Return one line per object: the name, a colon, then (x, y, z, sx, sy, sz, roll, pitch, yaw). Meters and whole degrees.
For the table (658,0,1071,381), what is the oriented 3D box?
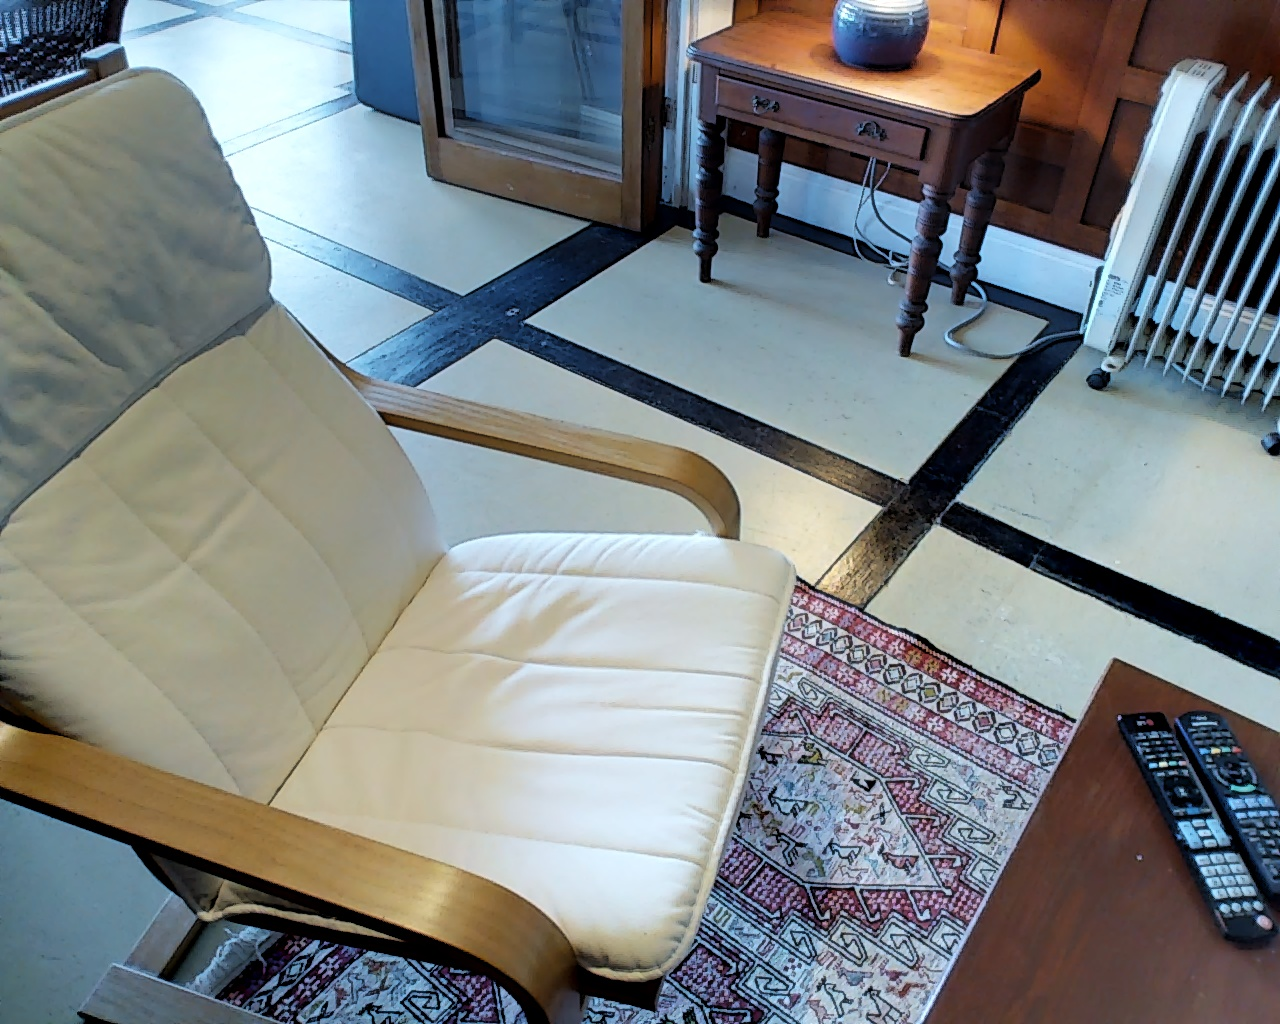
table: (0.480, -0.770, 2.470, 0.710, 0.570, 0.490, 26, 46, 27)
